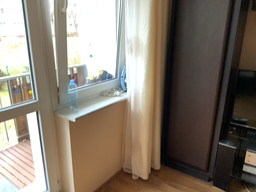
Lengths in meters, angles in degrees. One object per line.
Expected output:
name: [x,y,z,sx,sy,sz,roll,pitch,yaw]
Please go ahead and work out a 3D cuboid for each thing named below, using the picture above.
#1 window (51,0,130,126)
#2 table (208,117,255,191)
window: [-0.250,-0.640,1.610,0.200,1.610,0.610,14,22,35]
table: [1.360,0.650,1.930,1.020,0.530,0.550,13,21,33]
